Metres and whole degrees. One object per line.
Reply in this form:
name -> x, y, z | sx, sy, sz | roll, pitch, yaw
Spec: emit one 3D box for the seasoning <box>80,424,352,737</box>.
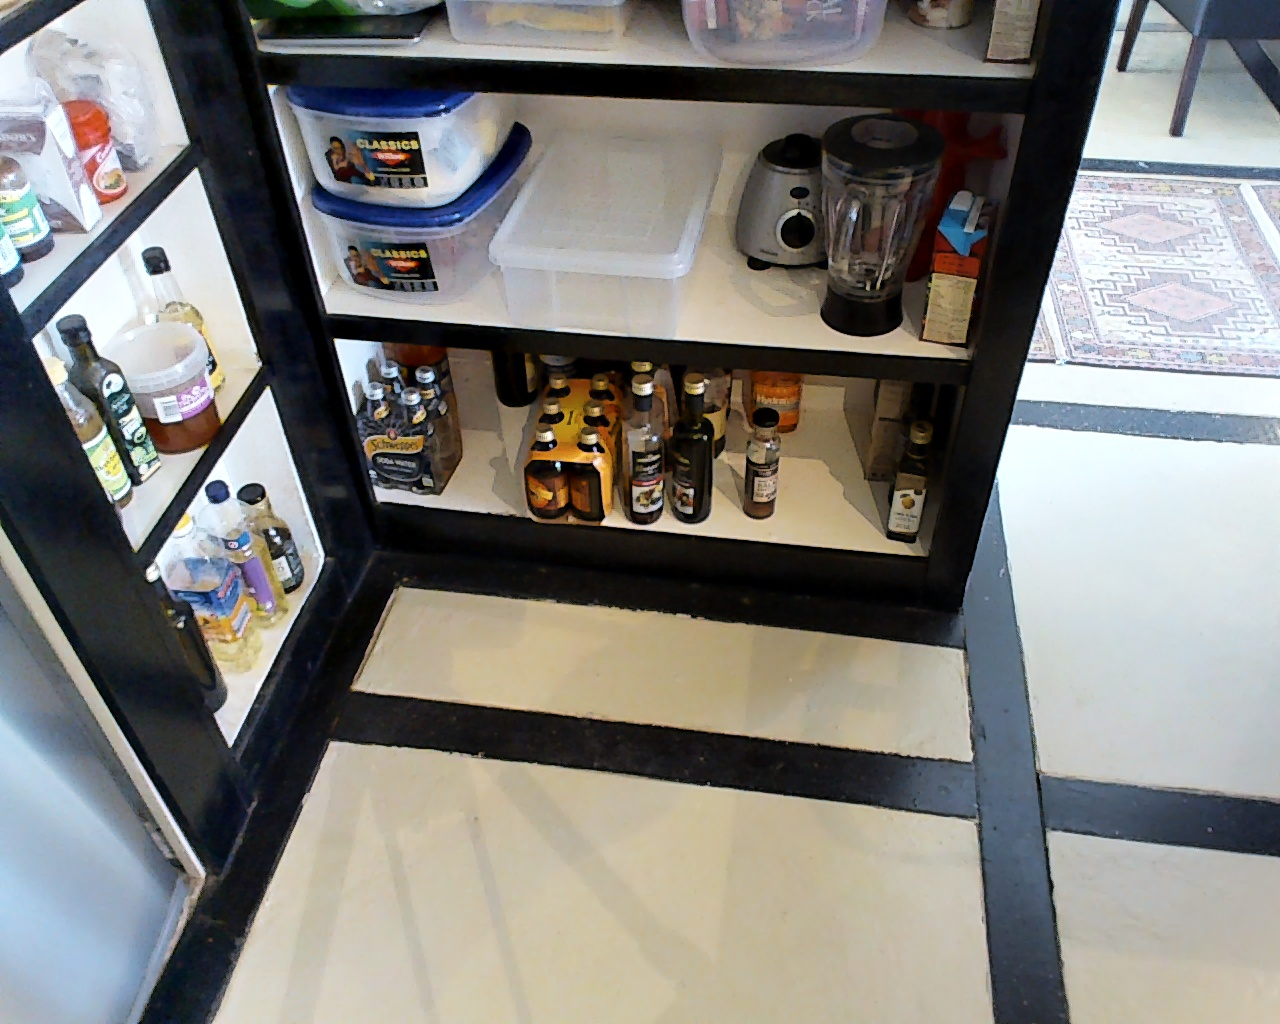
seasoning -> -0.560, 0.090, 1.480 | 0.170, 0.280, 0.310 | 5, 43, 7
